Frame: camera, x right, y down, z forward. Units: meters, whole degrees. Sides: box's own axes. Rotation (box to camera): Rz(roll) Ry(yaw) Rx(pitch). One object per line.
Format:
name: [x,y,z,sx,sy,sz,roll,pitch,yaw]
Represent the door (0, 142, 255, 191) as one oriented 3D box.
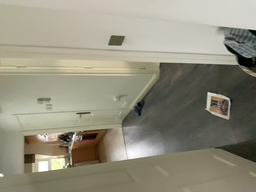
door: [0.040,0.540,1.340,0.940,1.940,0.050,-169,78,-70]
